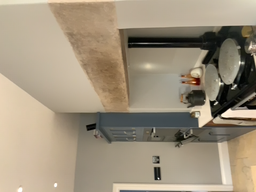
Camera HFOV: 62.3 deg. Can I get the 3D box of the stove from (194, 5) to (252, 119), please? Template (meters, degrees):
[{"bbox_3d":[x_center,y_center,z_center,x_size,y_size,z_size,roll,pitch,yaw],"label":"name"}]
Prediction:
[{"bbox_3d":[0.850,-0.240,2.080,1.010,0.080,0.700,85,-175,-70],"label":"stove"}]
